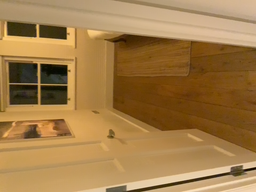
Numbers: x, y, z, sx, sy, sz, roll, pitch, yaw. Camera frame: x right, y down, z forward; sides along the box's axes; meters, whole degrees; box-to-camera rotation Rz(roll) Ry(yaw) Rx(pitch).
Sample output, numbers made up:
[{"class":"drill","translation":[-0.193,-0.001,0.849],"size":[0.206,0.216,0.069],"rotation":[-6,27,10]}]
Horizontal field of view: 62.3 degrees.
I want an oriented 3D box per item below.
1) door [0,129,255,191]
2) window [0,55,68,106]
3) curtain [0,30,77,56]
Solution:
[{"class":"door","translation":[-0.140,0.380,1.240],"size":[0.760,1.960,0.040],"rotation":[-161,72,-67]},{"class":"window","translation":[-1.690,-0.280,3.920],"size":[0.120,1.120,0.880],"rotation":[-155,66,-66]},{"class":"curtain","translation":[-1.610,-0.920,3.750],"size":[0.140,1.380,0.340],"rotation":[-171,81,-68]}]
